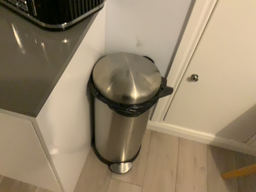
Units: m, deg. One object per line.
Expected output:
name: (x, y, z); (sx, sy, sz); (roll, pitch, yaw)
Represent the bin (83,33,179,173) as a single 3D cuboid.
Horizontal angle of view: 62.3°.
bin: (-0.010, 0.090, 1.130); (0.320, 0.700, 0.320); (16, 52, 4)
